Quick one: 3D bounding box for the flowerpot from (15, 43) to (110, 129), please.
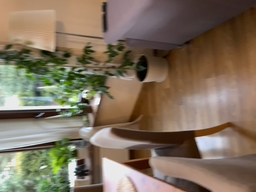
[{"bbox_3d":[-0.770,-0.060,2.390,0.930,0.860,0.340,-64,36,41],"label":"flowerpot"}]
